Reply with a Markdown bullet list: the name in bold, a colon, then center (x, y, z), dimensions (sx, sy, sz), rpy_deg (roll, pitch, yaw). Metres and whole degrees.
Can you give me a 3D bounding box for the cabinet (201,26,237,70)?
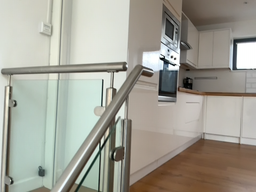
- **cabinet**: center (1.920, -0.980, 4.470), dimensions (0.610, 0.790, 0.340), rpy_deg (2, 0, 32)
